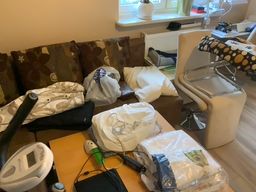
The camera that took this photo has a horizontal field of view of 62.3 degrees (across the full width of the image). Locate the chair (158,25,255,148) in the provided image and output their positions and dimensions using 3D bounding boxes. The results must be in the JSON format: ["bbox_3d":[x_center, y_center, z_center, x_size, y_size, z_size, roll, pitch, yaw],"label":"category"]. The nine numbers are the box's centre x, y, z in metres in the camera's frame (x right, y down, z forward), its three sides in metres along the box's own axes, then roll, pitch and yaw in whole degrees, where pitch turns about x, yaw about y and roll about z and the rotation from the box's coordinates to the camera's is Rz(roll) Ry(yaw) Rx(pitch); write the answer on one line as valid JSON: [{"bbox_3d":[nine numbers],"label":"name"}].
[{"bbox_3d":[0.720,-0.110,2.050,0.470,0.920,0.640,-14,38,-23],"label":"chair"}]
